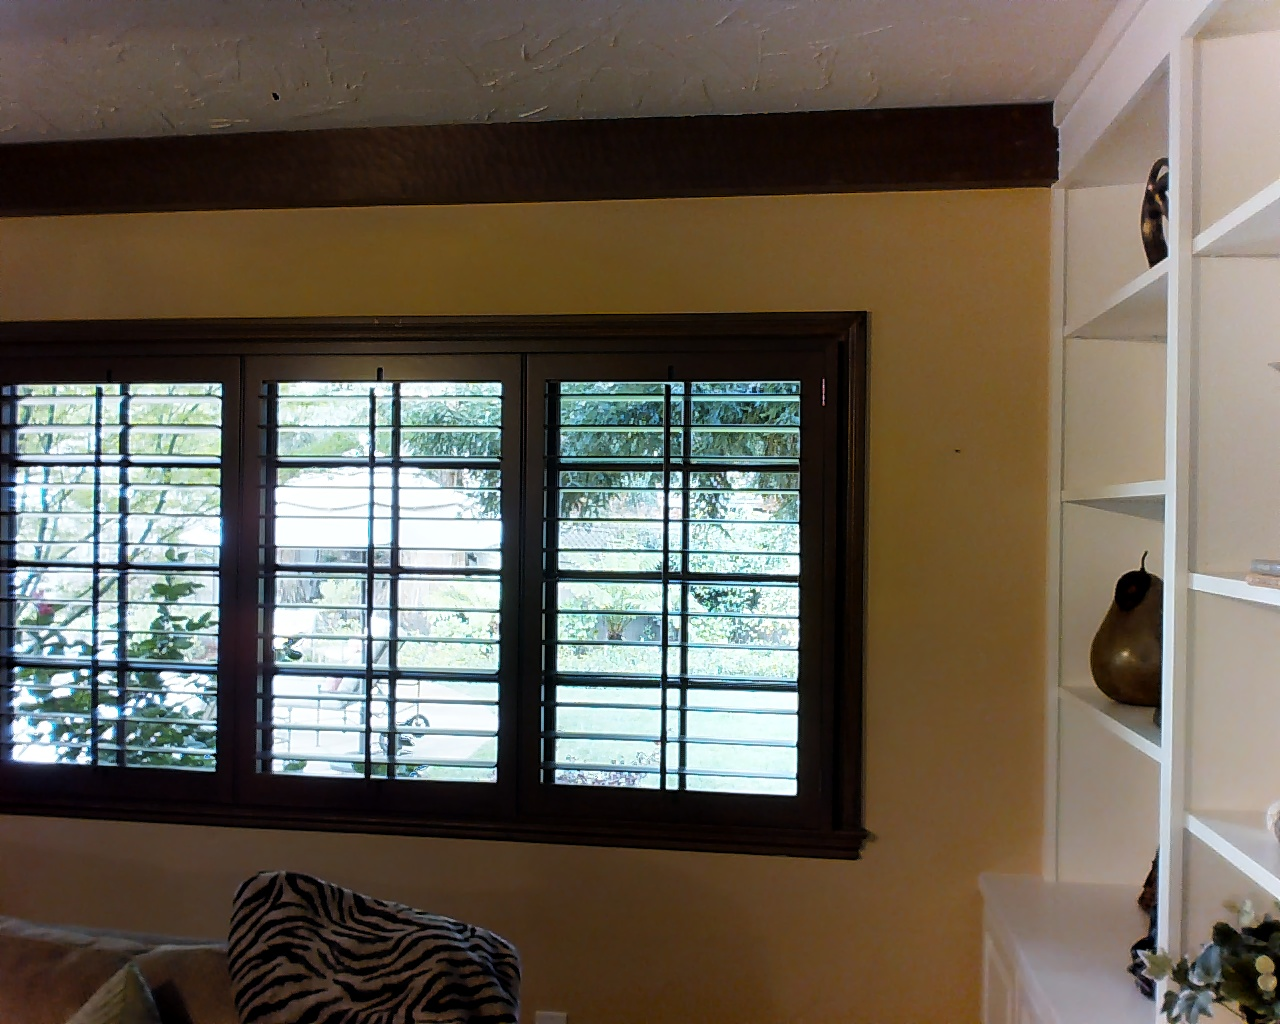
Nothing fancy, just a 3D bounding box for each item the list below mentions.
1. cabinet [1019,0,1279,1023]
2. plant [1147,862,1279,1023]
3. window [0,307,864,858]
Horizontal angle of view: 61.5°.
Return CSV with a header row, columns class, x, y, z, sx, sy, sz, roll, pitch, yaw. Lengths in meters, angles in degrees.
class,x,y,z,sx,sy,sz,roll,pitch,yaw
cabinet,0.990,0.350,1.720,0.370,2.480,1.660,1,0,7
plant,0.920,0.700,1.500,0.300,0.310,0.310,1,0,7
window,-0.630,0.150,2.740,2.330,1.270,0.220,1,0,7
